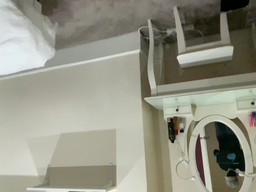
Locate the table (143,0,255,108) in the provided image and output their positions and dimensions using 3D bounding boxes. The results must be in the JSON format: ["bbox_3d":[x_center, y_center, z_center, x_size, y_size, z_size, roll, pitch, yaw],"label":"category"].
[{"bbox_3d":[0.710,-0.340,1.820,1.040,0.710,0.480,-7,164,18],"label":"table"}]
